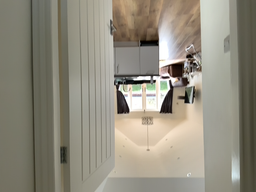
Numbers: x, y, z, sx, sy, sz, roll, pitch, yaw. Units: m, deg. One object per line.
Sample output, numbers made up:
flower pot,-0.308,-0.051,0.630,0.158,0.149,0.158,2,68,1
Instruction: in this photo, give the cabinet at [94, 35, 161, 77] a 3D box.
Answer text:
cabinet,-0.010,-1.000,5.470,1.620,0.910,0.580,-1,180,4
